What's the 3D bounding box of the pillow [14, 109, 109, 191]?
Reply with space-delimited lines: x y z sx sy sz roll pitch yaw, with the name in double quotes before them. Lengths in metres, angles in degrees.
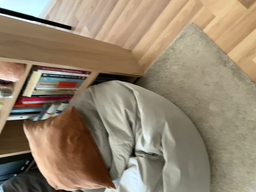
"pillow" -0.380 0.300 1.140 0.480 0.240 0.360 -20 76 40
